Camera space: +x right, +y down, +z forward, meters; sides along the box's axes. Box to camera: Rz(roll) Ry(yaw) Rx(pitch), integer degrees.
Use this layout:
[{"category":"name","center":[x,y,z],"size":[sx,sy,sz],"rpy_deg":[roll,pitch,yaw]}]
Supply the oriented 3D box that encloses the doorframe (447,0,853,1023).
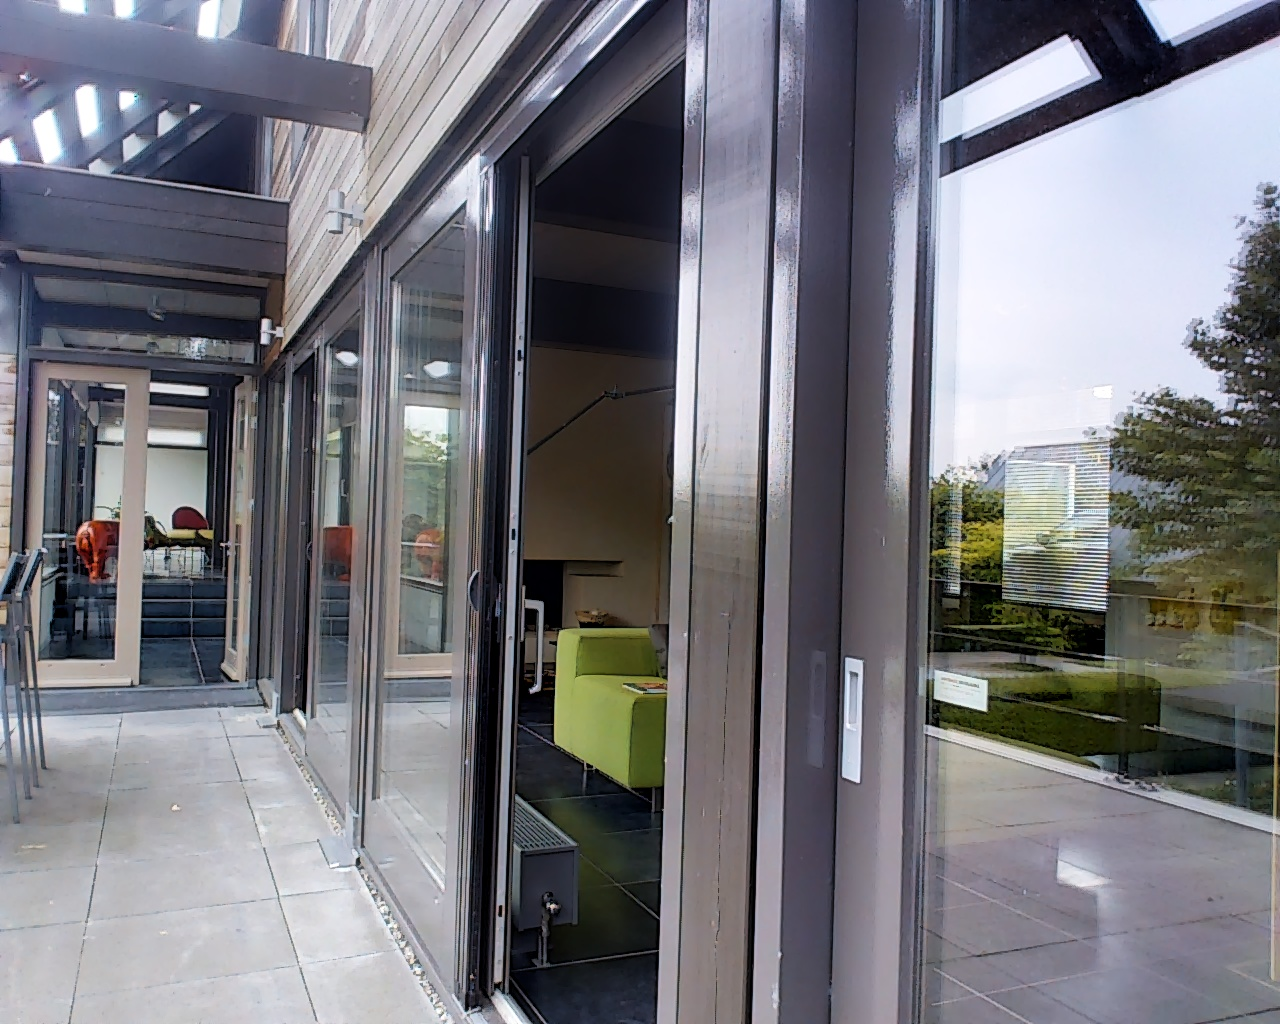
[{"category":"doorframe","center":[-0.080,0.100,2.290],"size":[0.260,2.470,1.360],"rpy_deg":[2,-1,-24]}]
